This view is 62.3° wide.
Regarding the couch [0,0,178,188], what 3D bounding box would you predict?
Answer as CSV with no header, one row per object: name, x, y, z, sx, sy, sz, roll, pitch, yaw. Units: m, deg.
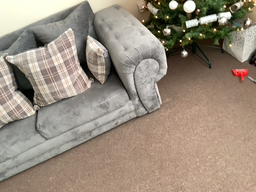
couch,-0.750,-0.060,1.740,2.000,0.740,0.940,-25,43,-5

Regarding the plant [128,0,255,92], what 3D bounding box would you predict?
plant,0.420,-1.020,1.540,0.770,1.710,0.810,-26,43,-5
